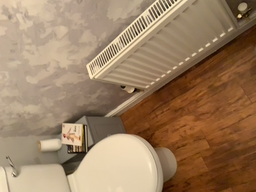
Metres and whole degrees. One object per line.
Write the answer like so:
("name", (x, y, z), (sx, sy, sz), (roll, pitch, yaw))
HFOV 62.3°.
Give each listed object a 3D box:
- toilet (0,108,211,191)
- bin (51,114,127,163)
("toilet", (-0.140, 0.430, 1.010), (0.690, 0.770, 0.450), (-34, 66, 30))
("bin", (-0.240, 0.260, 1.340), (0.280, 0.340, 0.180), (-35, 66, 30))
